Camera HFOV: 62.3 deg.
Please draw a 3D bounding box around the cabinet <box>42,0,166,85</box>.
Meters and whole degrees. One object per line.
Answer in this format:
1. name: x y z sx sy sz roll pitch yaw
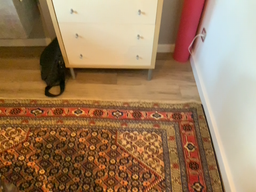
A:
1. cabinet: -0.140 -0.640 1.450 0.720 1.160 0.420 1 49 0
